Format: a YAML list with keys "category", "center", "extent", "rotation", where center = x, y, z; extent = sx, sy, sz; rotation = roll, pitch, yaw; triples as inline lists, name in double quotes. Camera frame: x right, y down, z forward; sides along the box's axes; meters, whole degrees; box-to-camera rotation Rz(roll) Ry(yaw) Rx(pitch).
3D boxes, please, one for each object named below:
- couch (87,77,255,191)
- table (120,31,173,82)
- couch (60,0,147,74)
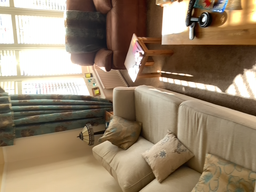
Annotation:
- category: "couch"
  center: [0.390, 0.570, 1.960]
  extent: [2.130, 0.940, 1.130]
  rotation: [-153, 60, -61]
- category: "table"
  center: [0.210, -0.500, 2.700]
  extent: [0.480, 0.410, 0.390]
  rotation: [114, 141, -47]
- category: "couch"
  center: [-0.400, -0.980, 3.190]
  extent: [1.000, 0.980, 1.130]
  rotation: [-154, 61, -61]
